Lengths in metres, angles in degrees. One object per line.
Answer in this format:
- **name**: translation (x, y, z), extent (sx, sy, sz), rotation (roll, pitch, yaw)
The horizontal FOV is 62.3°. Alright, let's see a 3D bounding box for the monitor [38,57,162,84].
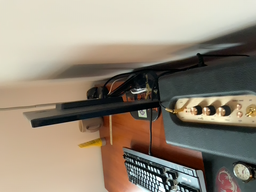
- **monitor**: translation (-0.130, -0.090, 0.790), extent (0.390, 0.340, 0.030), rotation (-3, 93, 62)
